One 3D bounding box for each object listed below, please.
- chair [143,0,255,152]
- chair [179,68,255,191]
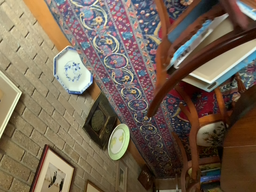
[{"bbox_3d":[0.440,-0.300,1.000,0.590,0.890,0.410,21,137,-19],"label":"chair"},{"bbox_3d":[0.740,0.270,1.690,0.530,0.830,0.440,-9,138,16],"label":"chair"}]
